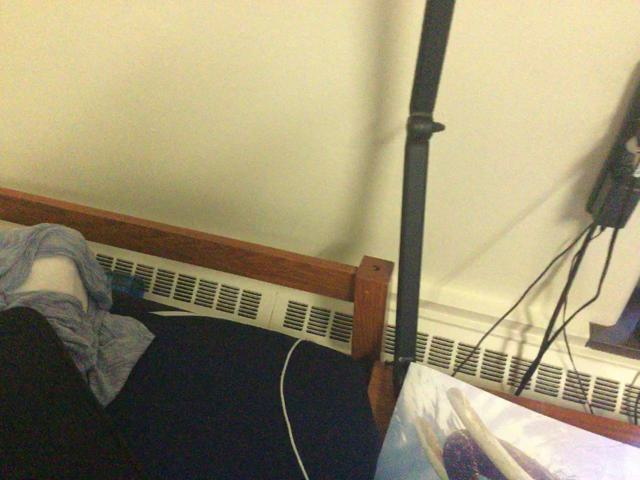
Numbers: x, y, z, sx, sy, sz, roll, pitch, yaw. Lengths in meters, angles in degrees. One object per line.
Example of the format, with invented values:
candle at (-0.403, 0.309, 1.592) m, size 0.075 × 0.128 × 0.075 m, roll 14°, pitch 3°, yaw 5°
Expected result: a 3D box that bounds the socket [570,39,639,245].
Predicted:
socket at (0.430, -0.130, 0.810) m, size 0.080 × 0.270 × 0.080 m, roll 9°, pitch 38°, yaw 12°
